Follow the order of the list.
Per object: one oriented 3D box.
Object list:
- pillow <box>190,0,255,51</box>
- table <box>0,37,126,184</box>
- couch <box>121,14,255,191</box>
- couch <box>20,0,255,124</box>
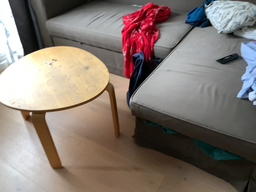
[{"bbox_3d":[0.860,-0.620,1.720,0.540,0.240,0.470,19,43,24],"label":"pillow"},{"bbox_3d":[-0.490,0.020,1.460,0.630,0.470,0.750,-23,44,-24],"label":"table"},{"bbox_3d":[0.540,0.040,1.220,0.930,0.680,0.650,20,44,25],"label":"couch"},{"bbox_3d":[0.250,-0.660,2.070,2.560,0.720,0.940,20,44,25],"label":"couch"}]
